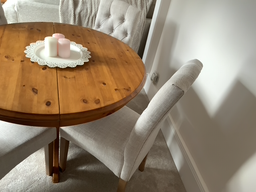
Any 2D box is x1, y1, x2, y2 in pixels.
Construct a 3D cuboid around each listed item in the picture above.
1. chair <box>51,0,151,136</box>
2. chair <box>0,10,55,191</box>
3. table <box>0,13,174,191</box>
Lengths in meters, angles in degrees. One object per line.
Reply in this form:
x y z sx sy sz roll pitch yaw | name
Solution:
-0.250 -0.280 1.830 0.470 0.950 0.630 25 36 16 | chair
-0.740 0.150 1.030 0.450 0.960 0.570 28 37 20 | chair
-0.500 0.030 1.480 1.110 0.740 1.140 28 37 20 | table
